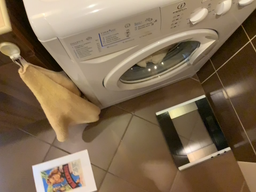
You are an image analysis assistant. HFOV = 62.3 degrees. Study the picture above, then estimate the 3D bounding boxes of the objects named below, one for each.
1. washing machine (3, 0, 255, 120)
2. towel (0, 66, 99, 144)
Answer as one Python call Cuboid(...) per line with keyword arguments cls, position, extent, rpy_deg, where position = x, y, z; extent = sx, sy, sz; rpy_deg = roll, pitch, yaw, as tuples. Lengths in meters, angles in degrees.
Cuboid(cls="washing machine", position=(0.030, -0.290, 0.840), extent=(0.640, 0.840, 0.470), rpy_deg=(-20, 77, -5))
Cuboid(cls="towel", position=(-0.270, 0.090, 0.840), extent=(0.200, 0.640, 0.130), rpy_deg=(-19, 77, -5))
